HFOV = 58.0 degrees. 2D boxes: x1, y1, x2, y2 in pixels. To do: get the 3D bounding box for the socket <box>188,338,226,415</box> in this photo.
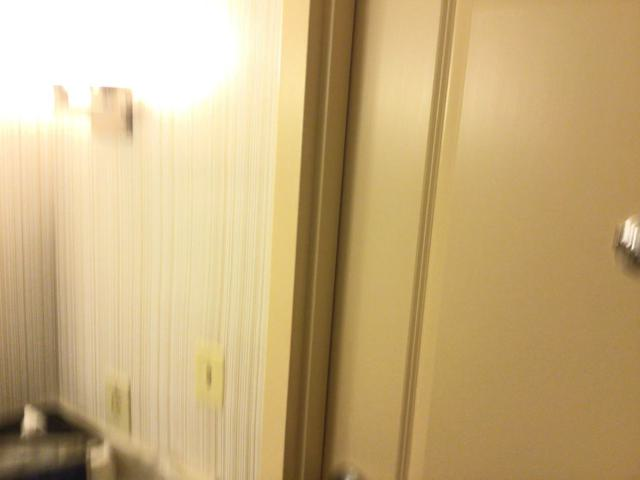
[{"bbox_3d":[-0.200,0.240,1.020,0.080,0.120,0.010,8,13,32],"label":"socket"}]
